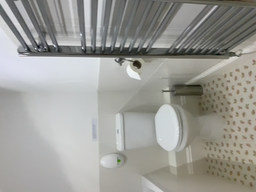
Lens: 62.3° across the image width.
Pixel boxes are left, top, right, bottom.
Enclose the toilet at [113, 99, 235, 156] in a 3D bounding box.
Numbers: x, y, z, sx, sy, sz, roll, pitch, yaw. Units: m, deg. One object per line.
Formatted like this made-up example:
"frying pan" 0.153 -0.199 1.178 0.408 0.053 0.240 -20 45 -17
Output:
"toilet" 0.310 0.260 1.790 0.650 0.790 0.360 135 133 -76
